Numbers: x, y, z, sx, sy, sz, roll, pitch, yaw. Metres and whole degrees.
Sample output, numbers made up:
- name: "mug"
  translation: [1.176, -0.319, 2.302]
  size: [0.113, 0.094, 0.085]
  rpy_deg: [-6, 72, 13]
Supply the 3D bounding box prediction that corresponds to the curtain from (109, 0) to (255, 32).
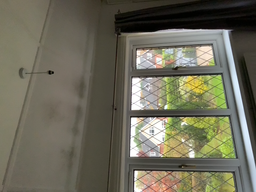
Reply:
- name: "curtain"
  translation: [0.770, -1.020, 2.370]
  size: [0.290, 1.910, 0.360]
  rpy_deg: [73, -163, -63]
